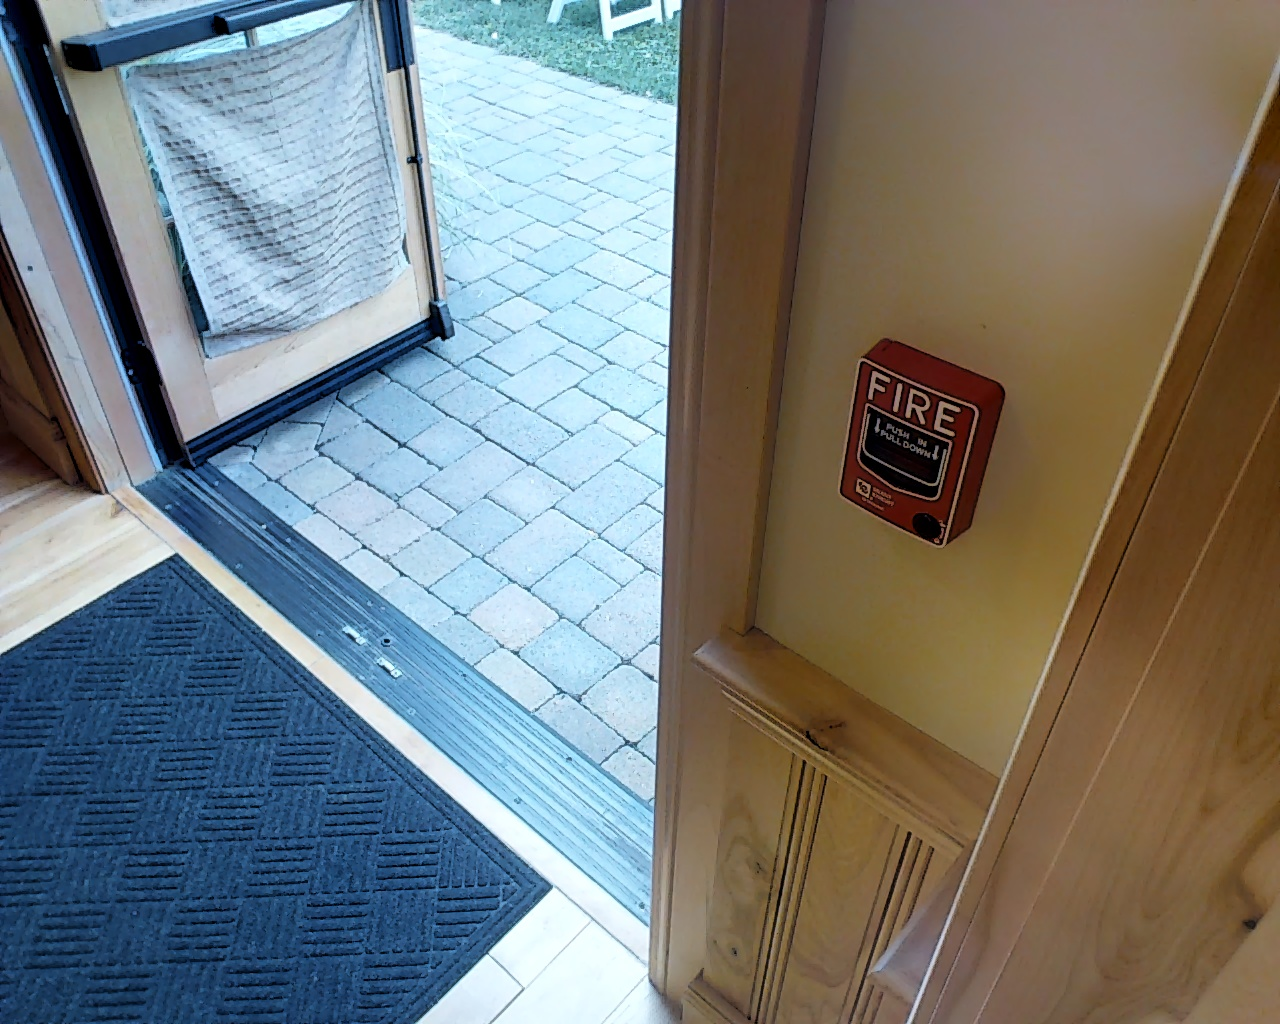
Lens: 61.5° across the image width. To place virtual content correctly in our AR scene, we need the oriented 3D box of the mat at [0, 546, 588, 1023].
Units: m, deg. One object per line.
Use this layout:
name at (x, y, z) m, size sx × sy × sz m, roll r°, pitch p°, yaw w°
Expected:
mat at (-0.880, 0.590, 1.910) m, size 1.280 × 0.010 × 0.940 m, roll 30°, pitch 49°, yaw 30°
